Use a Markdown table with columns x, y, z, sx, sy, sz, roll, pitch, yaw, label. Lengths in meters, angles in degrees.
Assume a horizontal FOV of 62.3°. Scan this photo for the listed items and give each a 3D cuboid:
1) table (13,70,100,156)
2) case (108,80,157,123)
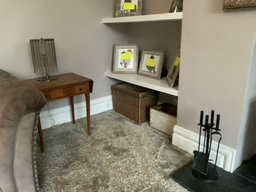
| x | y | z | sx | sy | sz | roll | pitch | yaw | label |
| --- | --- | --- | --- | --- | --- | --- | --- | --- | --- |
| -0.670 | 0.110 | 2.050 | 0.610 | 0.580 | 0.470 | -15 | 23 | -37 | table |
| 0.040 | 0.040 | 2.550 | 0.250 | 0.340 | 0.610 | -14 | 22 | -36 | case |
